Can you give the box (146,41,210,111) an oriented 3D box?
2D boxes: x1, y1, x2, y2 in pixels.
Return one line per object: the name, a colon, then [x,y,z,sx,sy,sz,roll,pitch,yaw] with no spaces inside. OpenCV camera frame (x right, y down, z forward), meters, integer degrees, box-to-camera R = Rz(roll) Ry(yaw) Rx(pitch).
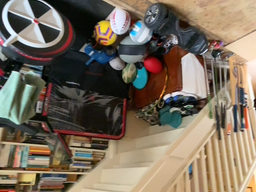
box: [0.540,-0.200,2.400,0.550,0.590,0.390,10,158,-23]
